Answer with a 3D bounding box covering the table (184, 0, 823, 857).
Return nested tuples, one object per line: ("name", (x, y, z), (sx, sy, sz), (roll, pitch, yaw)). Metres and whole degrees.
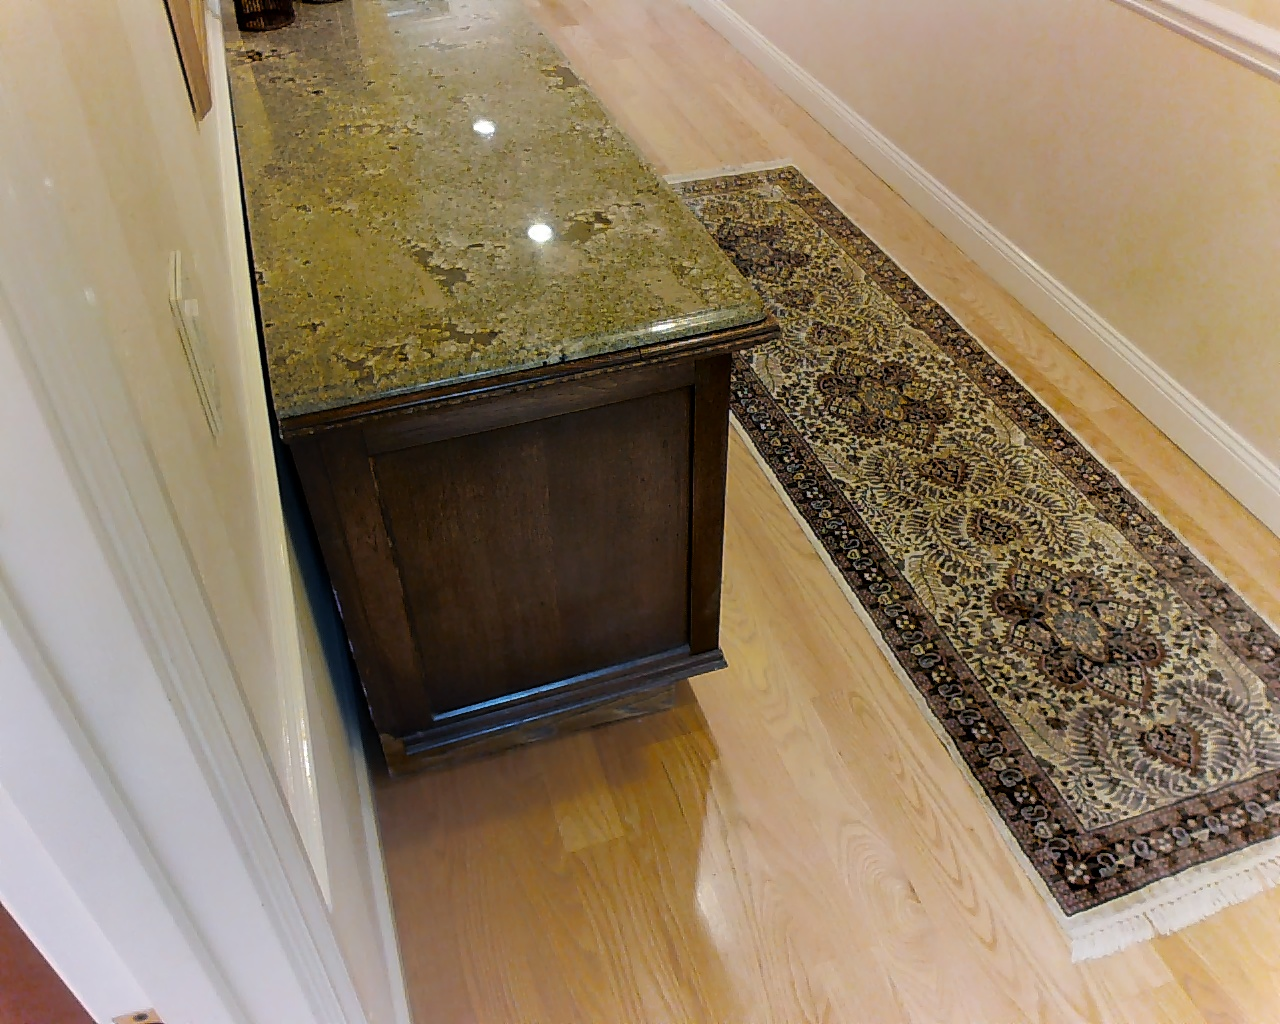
("table", (-0.420, -0.450, 2.220), (0.730, 0.920, 1.890), (-12, 44, -14))
